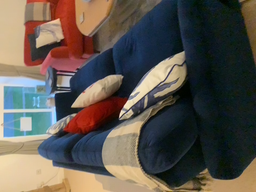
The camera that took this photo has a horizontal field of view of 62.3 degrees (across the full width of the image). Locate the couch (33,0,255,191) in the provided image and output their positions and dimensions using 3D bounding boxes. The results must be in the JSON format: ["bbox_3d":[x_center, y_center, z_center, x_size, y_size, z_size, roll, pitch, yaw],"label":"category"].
[{"bbox_3d":[-0.120,0.060,1.890,2.210,0.920,1.060,-19,73,53],"label":"couch"}]

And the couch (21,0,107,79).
[{"bbox_3d":[-1.040,-1.060,3.260,1.090,0.910,1.280,-22,71,53],"label":"couch"}]
